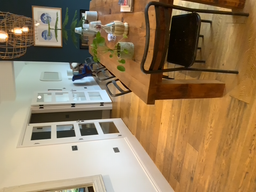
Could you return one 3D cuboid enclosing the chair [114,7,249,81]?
[{"bbox_3d":[0.410,-0.410,1.750,0.420,0.930,0.480,-136,48,-62],"label":"chair"}]
